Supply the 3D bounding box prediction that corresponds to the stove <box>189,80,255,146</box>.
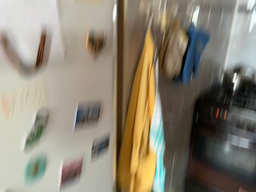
[{"bbox_3d":[0.810,0.090,1.470,0.530,0.170,0.600,17,26,35],"label":"stove"}]
